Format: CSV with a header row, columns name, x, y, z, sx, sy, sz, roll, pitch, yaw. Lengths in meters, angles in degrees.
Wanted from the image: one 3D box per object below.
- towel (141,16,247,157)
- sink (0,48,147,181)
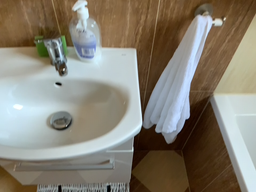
name,x,y,z,sx,sy,sz,roll,pitch,yaw
towel,0.190,0.030,0.860,0.200,0.670,0.170,-1,52,-4
sink,-0.220,0.040,0.660,0.500,0.170,0.370,-1,52,-5
